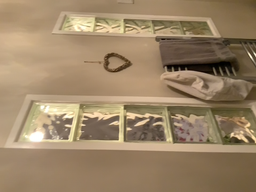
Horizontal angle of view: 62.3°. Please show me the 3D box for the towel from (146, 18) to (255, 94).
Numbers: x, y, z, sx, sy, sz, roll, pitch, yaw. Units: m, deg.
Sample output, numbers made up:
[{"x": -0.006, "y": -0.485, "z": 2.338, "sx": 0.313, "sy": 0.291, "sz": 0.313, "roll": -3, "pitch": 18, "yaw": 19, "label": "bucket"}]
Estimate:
[{"x": 0.430, "y": -0.270, "z": 1.340, "sx": 0.150, "sy": 0.580, "sz": 0.520, "roll": 95, "pitch": 176, "yaw": -50, "label": "towel"}]
